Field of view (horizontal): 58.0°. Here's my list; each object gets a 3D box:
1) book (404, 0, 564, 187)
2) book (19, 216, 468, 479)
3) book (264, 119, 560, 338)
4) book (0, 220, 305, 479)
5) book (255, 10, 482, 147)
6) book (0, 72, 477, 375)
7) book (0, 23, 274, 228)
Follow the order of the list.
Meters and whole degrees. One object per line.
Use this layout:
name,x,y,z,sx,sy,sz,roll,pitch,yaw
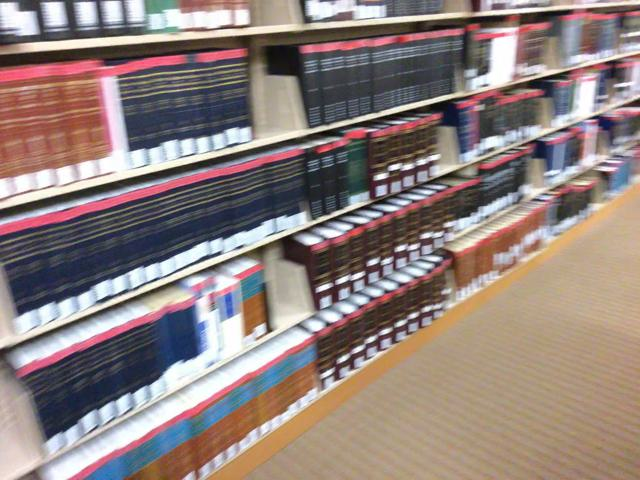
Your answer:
book,0.790,-0.710,2.680,0.930,0.650,0.240,-27,30,-38
book,-0.070,0.390,2.100,1.810,0.340,0.250,-27,30,-38
book,0.540,-0.160,2.590,1.790,0.350,0.250,-27,30,-38
book,-0.450,0.260,1.670,0.830,0.340,0.250,-27,30,-38
book,0.240,-0.620,2.100,1.040,0.290,0.160,-27,30,-38
book,-0.100,-0.210,1.910,1.840,0.360,0.280,-27,30,-38
book,-0.480,-0.320,1.440,0.710,0.320,0.230,-27,30,-38
